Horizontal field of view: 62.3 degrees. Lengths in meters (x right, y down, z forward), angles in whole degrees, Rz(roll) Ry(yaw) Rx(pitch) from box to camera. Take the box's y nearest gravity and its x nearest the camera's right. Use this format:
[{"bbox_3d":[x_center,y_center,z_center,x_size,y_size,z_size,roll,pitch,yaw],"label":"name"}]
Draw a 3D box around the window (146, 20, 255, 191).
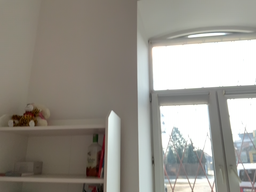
[{"bbox_3d":[0.880,0.280,2.100,1.320,2.140,0.250,-3,-17,6],"label":"window"}]
